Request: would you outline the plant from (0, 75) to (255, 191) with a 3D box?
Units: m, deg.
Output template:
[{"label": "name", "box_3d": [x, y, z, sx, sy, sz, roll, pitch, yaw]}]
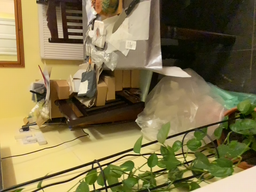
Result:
[{"label": "plant", "box_3d": [0.150, 0.040, 0.880, 0.490, 1.570, 0.230, 12, 103, 58]}]
